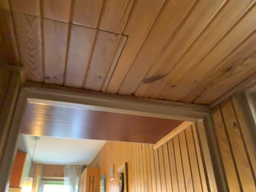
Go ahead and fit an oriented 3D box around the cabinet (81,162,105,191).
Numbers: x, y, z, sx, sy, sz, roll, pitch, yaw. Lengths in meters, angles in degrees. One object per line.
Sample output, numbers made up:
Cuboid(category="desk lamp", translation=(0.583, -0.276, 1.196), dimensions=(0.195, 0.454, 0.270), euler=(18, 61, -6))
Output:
Cuboid(category="cabinet", translation=(-0.560, 1.450, 3.220), dimensions=(0.210, 0.660, 0.950), euler=(8, -30, -15))
